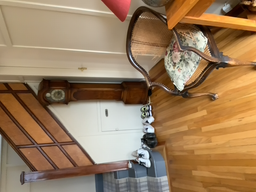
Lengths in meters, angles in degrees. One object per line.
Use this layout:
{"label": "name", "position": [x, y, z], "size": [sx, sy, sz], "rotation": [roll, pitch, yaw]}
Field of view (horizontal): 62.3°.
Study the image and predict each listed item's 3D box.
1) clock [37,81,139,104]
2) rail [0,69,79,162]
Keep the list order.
{"label": "clock", "position": [-0.540, -0.050, 3.010], "size": [0.350, 1.370, 0.280], "rotation": [-175, 85, -69]}
{"label": "rail", "position": [-1.290, 0.350, 2.800], "size": [1.730, 0.210, 0.820], "rotation": [-21, 67, 36]}
